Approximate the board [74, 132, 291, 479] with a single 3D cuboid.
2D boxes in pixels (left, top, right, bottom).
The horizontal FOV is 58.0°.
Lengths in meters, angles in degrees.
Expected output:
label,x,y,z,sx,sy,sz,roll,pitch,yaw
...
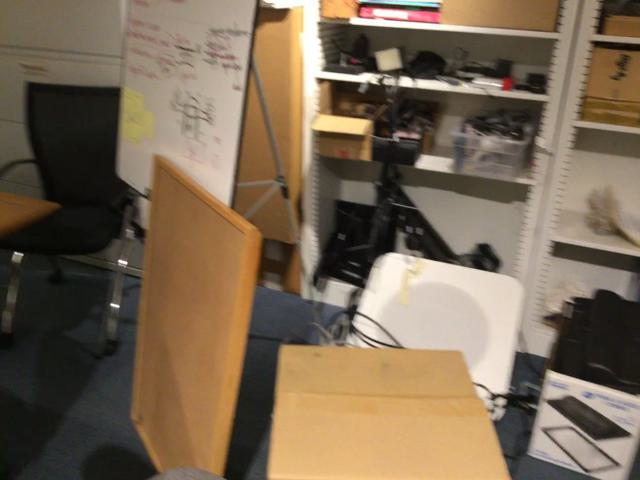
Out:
label,x,y,z,sx,sy,sz,roll,pitch,yaw
board,-0.370,0.270,1.600,0.180,0.930,0.740,-22,37,-29
